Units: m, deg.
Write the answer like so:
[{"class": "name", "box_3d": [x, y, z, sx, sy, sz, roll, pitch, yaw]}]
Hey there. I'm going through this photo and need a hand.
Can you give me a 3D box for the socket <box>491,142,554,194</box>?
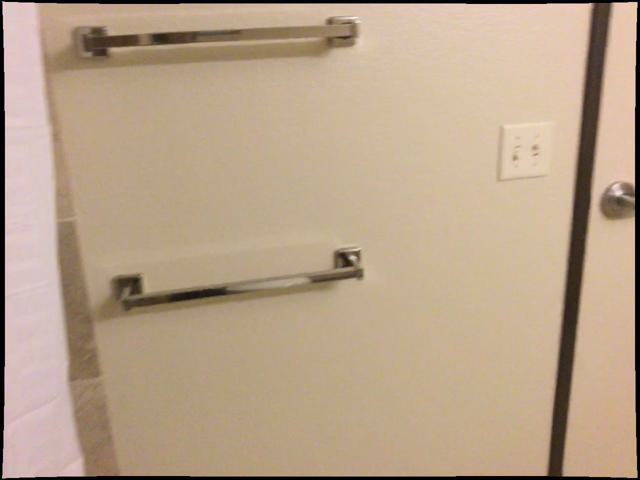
[{"class": "socket", "box_3d": [0.449, -0.160, 1.280, 0.130, 0.100, 0.030, -7, 19, -12]}]
